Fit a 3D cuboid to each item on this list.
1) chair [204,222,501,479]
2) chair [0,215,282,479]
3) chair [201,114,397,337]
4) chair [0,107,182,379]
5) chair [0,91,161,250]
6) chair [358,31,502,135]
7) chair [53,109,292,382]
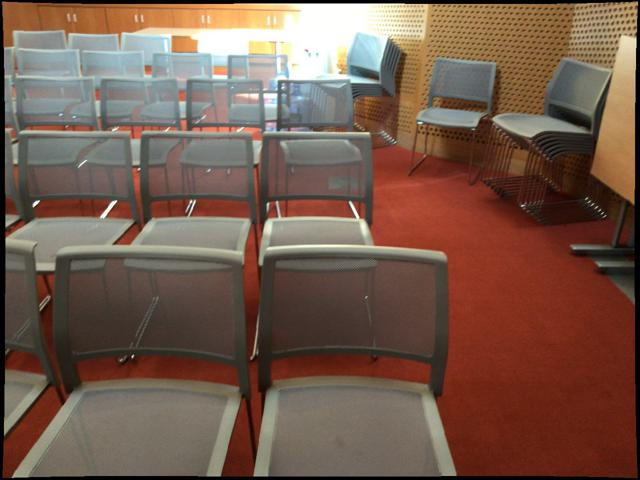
[{"bbox_3d":[0.090,0.400,1.410,0.519,0.701,0.570,-3,24,4],"label":"chair"},{"bbox_3d":[-0.410,0.490,1.430,0.519,0.921,0.580,-4,24,0],"label":"chair"},{"bbox_3d":[-0.060,-0.080,2.370,0.659,0.711,0.560,-4,24,0],"label":"chair"},{"bbox_3d":[-1.029,-0.010,2.390,0.649,0.911,0.620,-4,24,0],"label":"chair"},{"bbox_3d":[-1.379,-0.420,3.390,0.629,0.761,0.540,-4,24,0],"label":"chair"},{"bbox_3d":[0.929,-1.381,4.970,0.909,0.681,0.760,-17,27,-27],"label":"chair"},{"bbox_3d":[-0.509,0.000,2.370,0.699,0.901,0.610,-4,24,0],"label":"chair"}]
